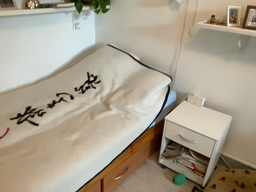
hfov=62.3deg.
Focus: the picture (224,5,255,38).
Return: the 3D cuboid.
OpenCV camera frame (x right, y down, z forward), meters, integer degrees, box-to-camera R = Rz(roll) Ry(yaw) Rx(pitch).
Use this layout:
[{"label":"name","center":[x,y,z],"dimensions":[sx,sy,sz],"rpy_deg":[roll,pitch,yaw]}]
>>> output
[{"label":"picture","center":[0.780,-0.460,1.310],"dimensions":[0.280,0.160,0.170],"rpy_deg":[21,33,31]}]
